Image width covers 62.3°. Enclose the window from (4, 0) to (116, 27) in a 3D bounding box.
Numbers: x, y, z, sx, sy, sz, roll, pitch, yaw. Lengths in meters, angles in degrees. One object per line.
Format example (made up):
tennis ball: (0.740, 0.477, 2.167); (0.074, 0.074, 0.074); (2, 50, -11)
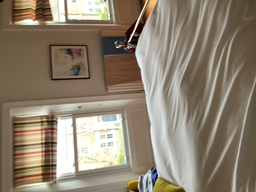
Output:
window: (-1.260, -1.920, 4.070); (0.270, 1.920, 1.140); (132, 132, -71)
